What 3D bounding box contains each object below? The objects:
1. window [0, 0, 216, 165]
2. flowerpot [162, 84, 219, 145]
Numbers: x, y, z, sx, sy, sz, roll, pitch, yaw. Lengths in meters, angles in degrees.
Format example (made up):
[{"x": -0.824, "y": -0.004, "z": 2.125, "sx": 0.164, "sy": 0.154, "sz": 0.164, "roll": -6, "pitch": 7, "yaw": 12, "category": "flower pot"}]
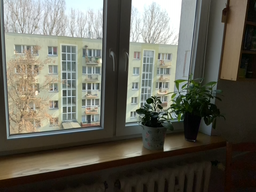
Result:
[{"x": -0.060, "y": -0.270, "z": 1.410, "sx": 1.520, "sy": 1.220, "sz": 0.140, "roll": -3, "pitch": 12, "yaw": -27, "category": "window"}, {"x": 0.490, "y": 0.130, "z": 1.680, "sx": 0.360, "sy": 0.420, "sz": 0.190, "roll": -3, "pitch": 12, "yaw": -27, "category": "flowerpot"}]
